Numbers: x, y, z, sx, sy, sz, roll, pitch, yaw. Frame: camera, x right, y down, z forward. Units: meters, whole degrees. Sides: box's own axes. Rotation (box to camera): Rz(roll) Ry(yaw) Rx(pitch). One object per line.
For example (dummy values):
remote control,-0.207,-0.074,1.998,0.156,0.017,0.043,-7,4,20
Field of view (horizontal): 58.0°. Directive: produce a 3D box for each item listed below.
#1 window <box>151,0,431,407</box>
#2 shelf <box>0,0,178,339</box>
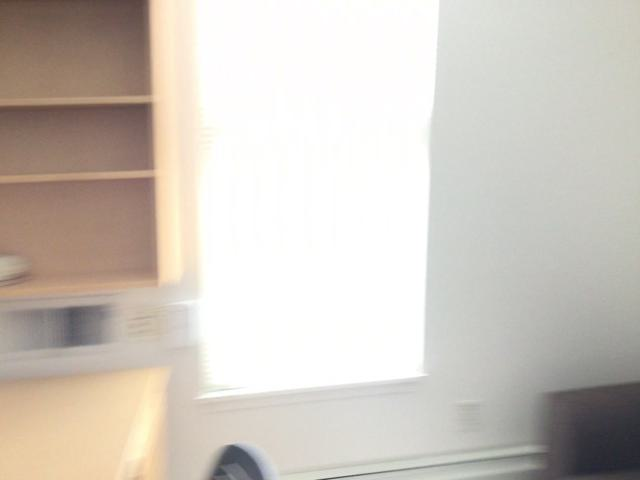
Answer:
window,-0.090,-0.360,2.000,0.880,1.750,0.290,-3,7,-10
shelf,-0.880,-0.350,1.660,0.830,1.200,0.360,-3,7,-10
